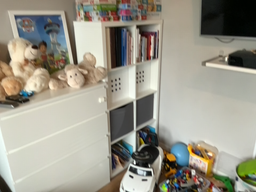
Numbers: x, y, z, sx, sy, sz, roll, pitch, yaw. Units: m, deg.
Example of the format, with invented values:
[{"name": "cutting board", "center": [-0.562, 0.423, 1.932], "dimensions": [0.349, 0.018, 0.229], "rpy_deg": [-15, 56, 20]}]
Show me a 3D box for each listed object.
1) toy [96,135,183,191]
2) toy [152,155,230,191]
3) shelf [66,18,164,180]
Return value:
[{"name": "toy", "center": [0.120, 0.720, 2.050], "dimensions": [0.710, 0.310, 0.440], "rpy_deg": [-17, 26, -36]}, {"name": "toy", "center": [0.530, 0.820, 1.820], "dimensions": [0.500, 0.280, 0.420], "rpy_deg": [-17, 26, -37]}, {"name": "shelf", "center": [-0.090, -0.030, 2.220], "dimensions": [0.510, 1.460, 0.770], "rpy_deg": [18, 28, 41]}]
